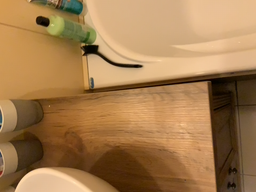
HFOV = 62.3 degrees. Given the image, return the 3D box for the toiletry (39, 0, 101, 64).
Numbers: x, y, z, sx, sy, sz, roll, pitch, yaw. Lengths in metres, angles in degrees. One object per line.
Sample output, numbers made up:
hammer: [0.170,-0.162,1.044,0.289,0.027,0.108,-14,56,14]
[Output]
toiletry: [-0.190,-0.260,0.700,0.090,0.160,0.280,-9,87,32]
